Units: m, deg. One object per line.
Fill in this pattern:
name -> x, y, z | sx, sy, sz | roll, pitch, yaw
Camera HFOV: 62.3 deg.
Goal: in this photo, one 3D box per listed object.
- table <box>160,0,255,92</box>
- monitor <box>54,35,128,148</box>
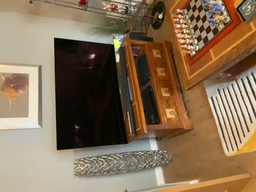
table -> 0.830, -0.670, 1.370 | 1.340, 0.480, 0.820 | 135, 131, -57
monitor -> -0.420, -0.090, 2.310 | 0.060, 0.710, 1.230 | 136, 130, -58
